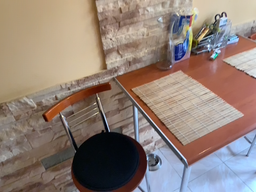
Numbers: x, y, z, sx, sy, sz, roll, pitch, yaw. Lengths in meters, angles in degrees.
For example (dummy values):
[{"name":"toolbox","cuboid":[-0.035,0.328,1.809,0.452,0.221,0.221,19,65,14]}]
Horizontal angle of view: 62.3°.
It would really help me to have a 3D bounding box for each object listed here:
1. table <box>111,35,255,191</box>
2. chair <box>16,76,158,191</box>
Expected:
[{"name":"table","cuboid":[0.480,0.230,1.320,0.920,0.840,0.590,-21,42,-19]},{"name":"chair","cuboid":[-0.170,0.410,1.160,0.490,0.840,0.410,-21,42,-19]}]
